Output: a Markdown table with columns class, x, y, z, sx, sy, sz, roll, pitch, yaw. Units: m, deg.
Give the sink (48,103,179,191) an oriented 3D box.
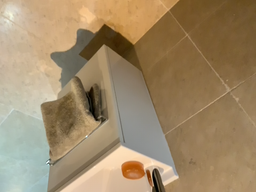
| class | x | y | z | sx | sy | sz | roll | pitch | yaw |
| --- | --- | --- | --- | --- | --- | --- | --- | --- | --- |
| sink | -0.070 | 0.260 | 0.810 | 0.270 | 0.170 | 0.410 | 29 | 121 | -35 |
